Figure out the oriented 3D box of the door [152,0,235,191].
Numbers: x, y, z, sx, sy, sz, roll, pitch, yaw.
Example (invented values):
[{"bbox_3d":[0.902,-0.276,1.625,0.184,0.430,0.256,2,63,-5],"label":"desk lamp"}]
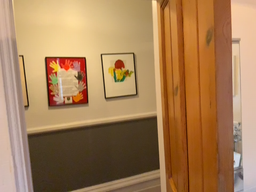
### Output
[{"bbox_3d":[0.230,0.430,0.900,0.040,2.040,0.780,-4,5,-1],"label":"door"}]
